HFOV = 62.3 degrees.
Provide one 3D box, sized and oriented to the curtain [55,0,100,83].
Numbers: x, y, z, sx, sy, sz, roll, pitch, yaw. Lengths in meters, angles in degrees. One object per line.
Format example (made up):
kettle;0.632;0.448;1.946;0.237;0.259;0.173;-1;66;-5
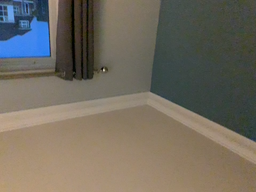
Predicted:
curtain;-0.310;-0.770;1.310;0.240;1.370;0.160;-9;-156;-33
